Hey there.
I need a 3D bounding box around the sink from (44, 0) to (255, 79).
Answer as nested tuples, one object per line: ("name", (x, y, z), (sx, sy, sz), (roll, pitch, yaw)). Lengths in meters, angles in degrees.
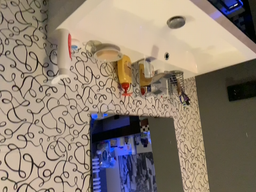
("sink", (0.170, -0.240, 0.830), (0.830, 0.100, 0.410), (10, 162, -43))
